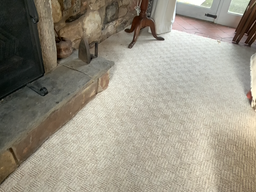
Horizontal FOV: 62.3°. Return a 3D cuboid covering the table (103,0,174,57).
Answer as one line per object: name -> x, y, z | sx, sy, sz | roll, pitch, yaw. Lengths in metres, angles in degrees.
table -> 0.120, -0.870, 2.020 | 0.480, 0.720, 0.560 | 21, 40, 18
